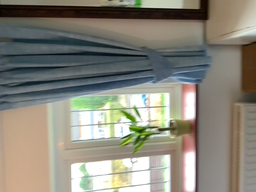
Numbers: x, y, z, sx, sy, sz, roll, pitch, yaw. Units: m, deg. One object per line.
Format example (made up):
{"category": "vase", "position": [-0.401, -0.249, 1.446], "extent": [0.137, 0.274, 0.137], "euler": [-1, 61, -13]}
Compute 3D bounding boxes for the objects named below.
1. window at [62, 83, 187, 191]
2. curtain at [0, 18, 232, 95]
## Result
{"category": "window", "position": [0.010, 0.670, 1.690], "extent": [0.110, 0.950, 1.510], "euler": [-161, 69, -77]}
{"category": "curtain", "position": [-0.040, -0.230, 1.280], "extent": [0.110, 1.440, 0.390], "euler": [-164, 72, -77]}
